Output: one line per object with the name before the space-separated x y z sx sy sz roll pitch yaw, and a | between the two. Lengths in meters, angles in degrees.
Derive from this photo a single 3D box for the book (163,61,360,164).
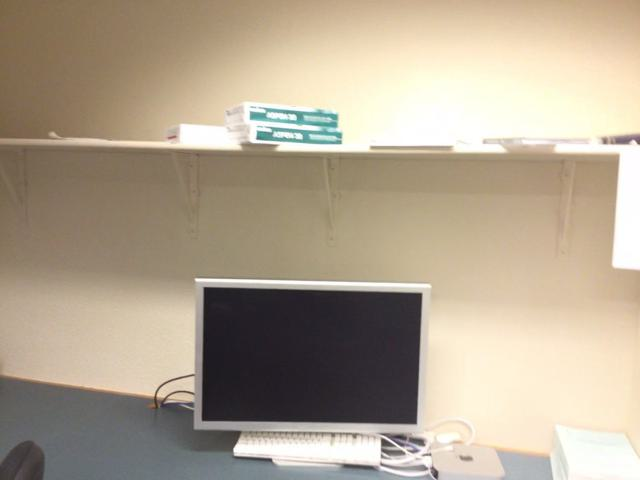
book | -0.150 -0.360 1.740 0.460 0.200 0.450 1 1 15
